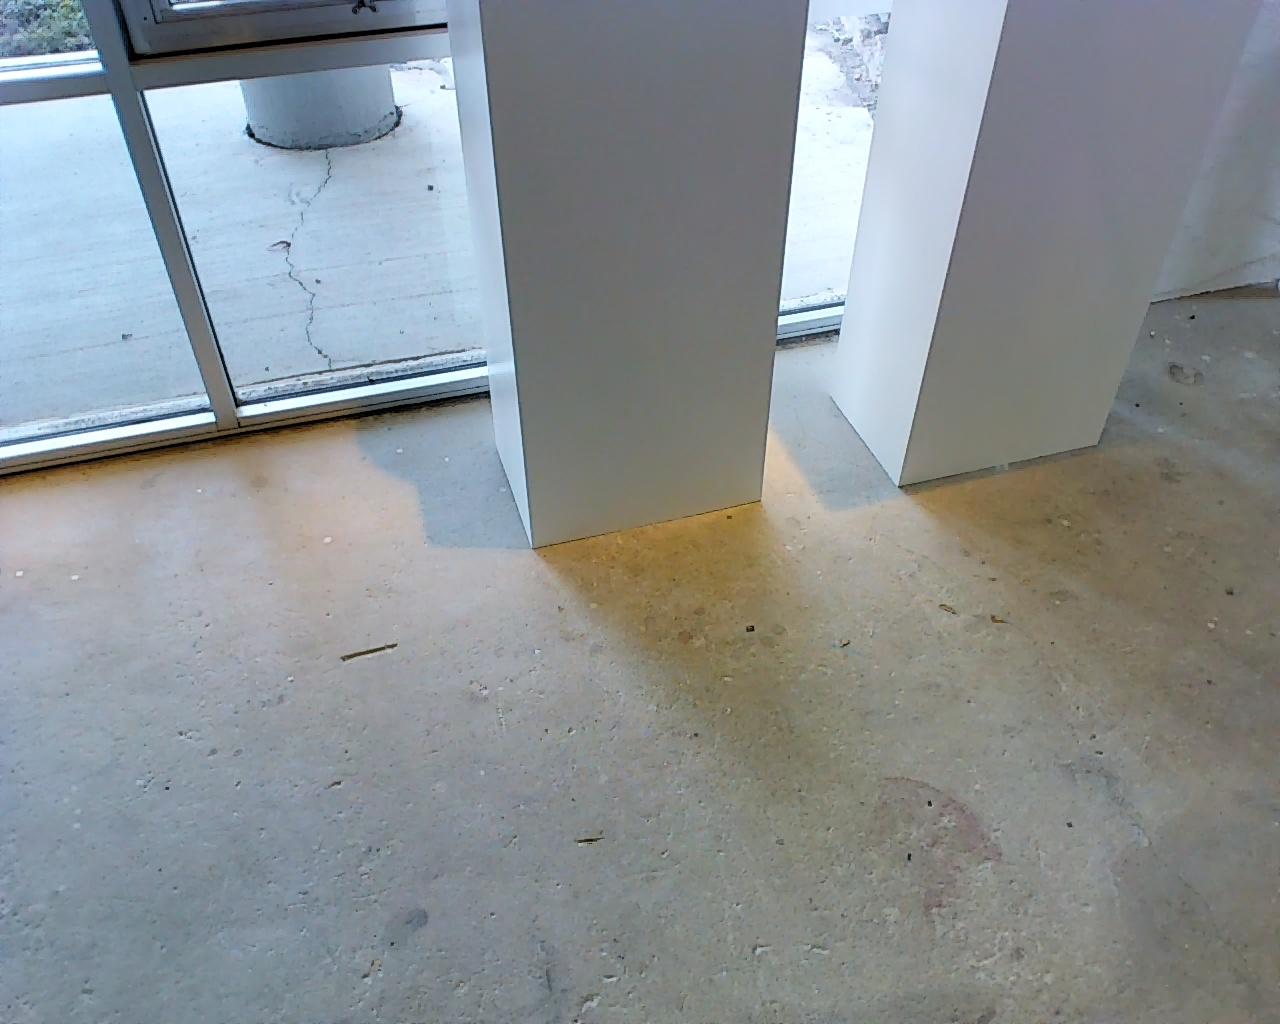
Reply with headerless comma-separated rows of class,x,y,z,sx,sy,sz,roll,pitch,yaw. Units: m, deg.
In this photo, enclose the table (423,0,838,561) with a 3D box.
table,-0.040,-0.500,1.960,0.550,1.100,0.420,-12,44,-13
